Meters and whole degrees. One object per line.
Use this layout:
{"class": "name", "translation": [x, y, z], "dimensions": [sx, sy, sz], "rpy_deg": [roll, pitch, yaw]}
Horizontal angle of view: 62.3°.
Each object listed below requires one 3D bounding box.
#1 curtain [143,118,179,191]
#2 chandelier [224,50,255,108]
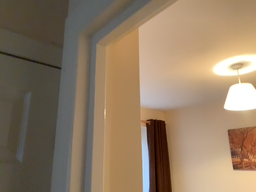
{"class": "curtain", "translation": [0.510, 1.040, 3.280], "dimensions": [0.420, 1.340, 0.260], "rpy_deg": [13, -22, -38]}
{"class": "chandelier", "translation": [0.980, -0.120, 1.730], "dimensions": [0.260, 0.340, 0.360], "rpy_deg": [-12, -20, 31]}
